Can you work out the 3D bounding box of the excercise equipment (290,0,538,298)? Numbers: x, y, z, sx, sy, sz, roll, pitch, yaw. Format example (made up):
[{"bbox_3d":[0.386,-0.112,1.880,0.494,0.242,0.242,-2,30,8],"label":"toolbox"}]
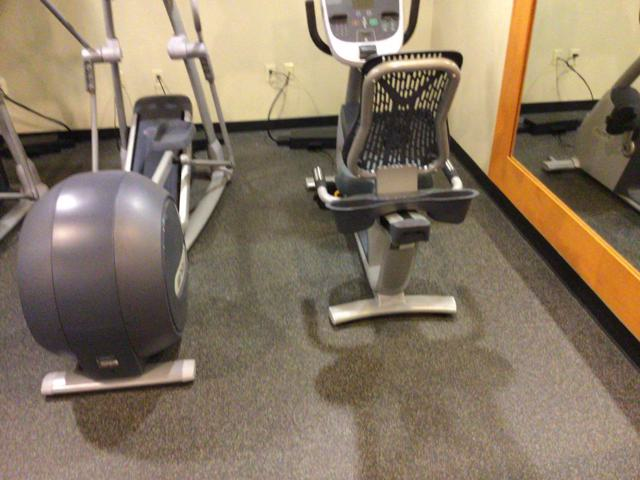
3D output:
[{"bbox_3d":[0.240,-0.630,2.210,0.630,1.310,1.030,-3,29,-6],"label":"excercise equipment"}]
